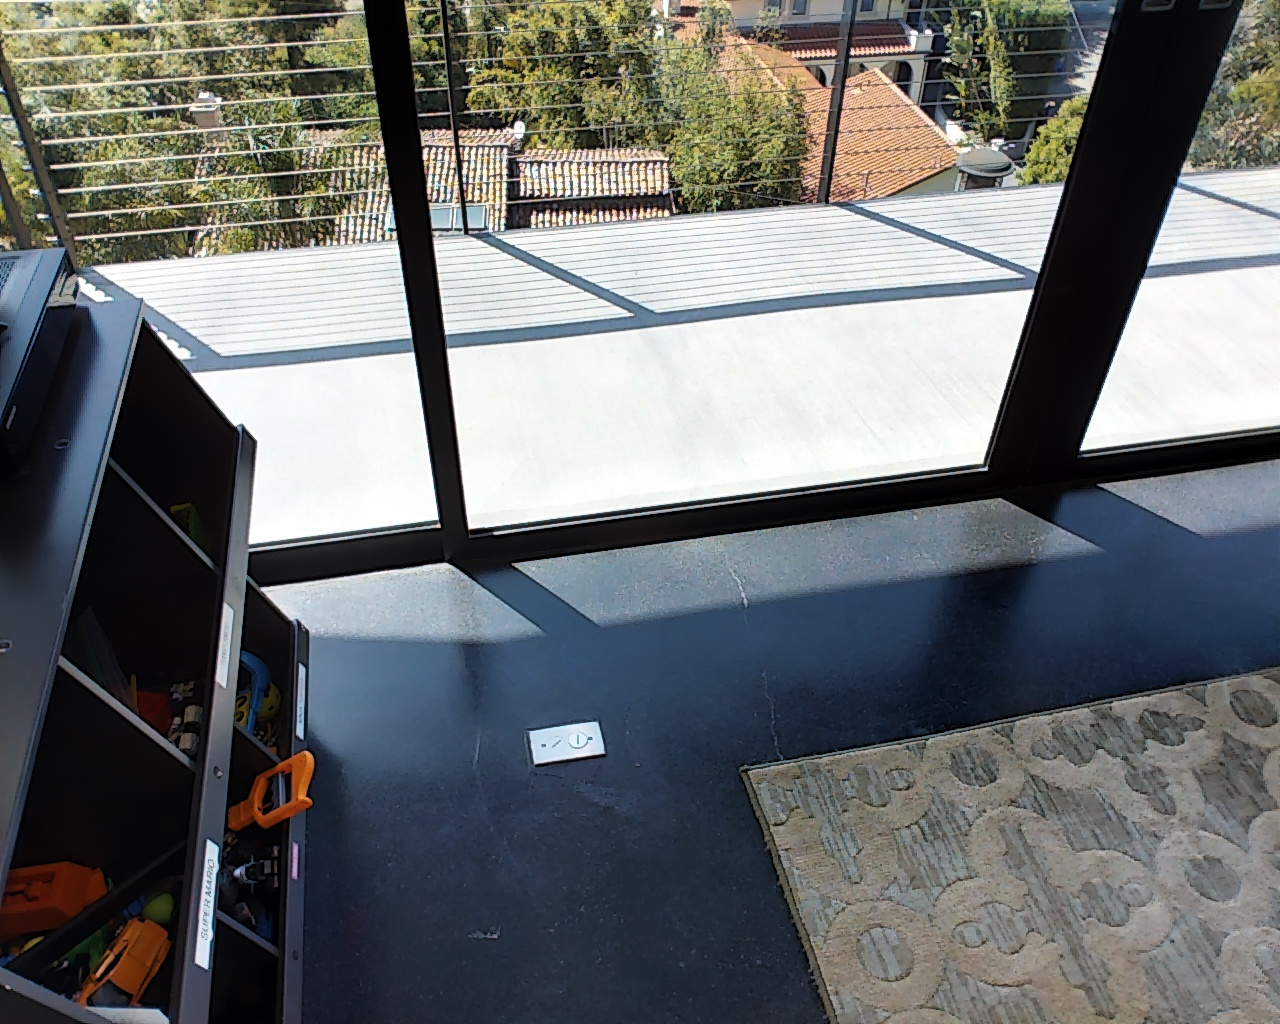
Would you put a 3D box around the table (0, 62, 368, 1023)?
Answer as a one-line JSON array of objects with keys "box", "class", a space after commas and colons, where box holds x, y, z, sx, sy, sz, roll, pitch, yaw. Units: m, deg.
[{"box": [-0.710, 0.240, 1.260, 0.580, 1.120, 0.990, -8, 43, -10], "class": "table"}]
